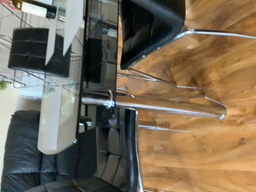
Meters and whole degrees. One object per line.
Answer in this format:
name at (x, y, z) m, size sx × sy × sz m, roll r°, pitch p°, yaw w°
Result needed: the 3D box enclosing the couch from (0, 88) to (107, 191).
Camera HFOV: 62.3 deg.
couch at (-0.850, 0.810, 2.300) m, size 0.950 × 0.900 × 1.490 m, roll -25°, pitch 61°, yaw 56°
